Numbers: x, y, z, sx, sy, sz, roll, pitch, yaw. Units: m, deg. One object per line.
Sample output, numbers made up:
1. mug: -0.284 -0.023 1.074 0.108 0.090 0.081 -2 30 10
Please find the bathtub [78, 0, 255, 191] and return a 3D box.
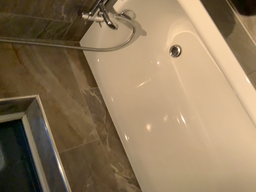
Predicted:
1. bathtub: 0.450 0.280 1.030 0.680 0.540 1.770 -37 72 41
